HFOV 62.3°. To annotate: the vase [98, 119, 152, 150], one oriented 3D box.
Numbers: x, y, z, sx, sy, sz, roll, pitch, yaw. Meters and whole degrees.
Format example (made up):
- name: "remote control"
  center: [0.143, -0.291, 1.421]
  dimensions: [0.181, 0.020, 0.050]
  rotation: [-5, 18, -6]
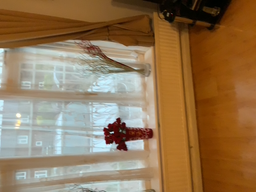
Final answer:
- name: "vase"
  center: [-0.030, 0.380, 2.120]
  dimensions: [0.170, 0.500, 0.280]
  rotation: [143, 126, -63]
